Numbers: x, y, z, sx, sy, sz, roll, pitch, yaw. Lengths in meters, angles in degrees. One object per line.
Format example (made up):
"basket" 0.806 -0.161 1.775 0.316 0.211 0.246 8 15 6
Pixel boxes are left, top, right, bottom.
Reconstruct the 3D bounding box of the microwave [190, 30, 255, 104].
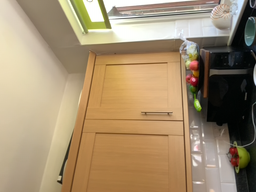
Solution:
"microwave" 0.660 -0.190 1.570 0.480 0.320 0.310 71 -159 -60
